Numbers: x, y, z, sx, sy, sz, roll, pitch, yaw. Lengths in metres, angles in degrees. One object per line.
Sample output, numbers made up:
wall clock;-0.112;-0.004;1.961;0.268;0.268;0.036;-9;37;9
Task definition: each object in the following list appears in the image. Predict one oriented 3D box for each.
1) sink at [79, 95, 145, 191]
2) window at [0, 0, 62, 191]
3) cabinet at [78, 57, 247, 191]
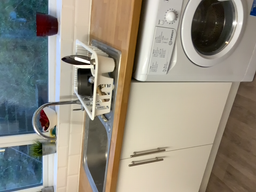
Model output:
sink;-0.150;0.370;1.450;0.500;0.220;0.610;39;126;56
window;-1.070;0.140;1.580;0.050;1.070;1.880;41;128;55
cabinet;0.180;0.250;1.570;0.600;0.910;0.920;39;126;56
